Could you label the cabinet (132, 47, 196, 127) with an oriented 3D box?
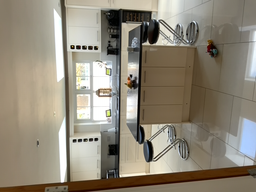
[{"bbox_3d":[0.550,-0.170,3.500,0.480,0.870,1.210,-135,45,-74],"label":"cabinet"}]
